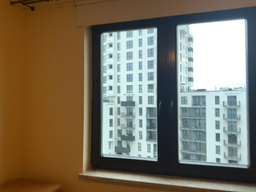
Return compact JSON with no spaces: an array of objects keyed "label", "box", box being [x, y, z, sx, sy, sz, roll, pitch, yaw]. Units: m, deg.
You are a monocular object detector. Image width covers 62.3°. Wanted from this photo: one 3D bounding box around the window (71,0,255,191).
[{"label":"window","box":[0.290,-0.010,1.790,1.610,1.450,0.190,0,-2,17]}]
